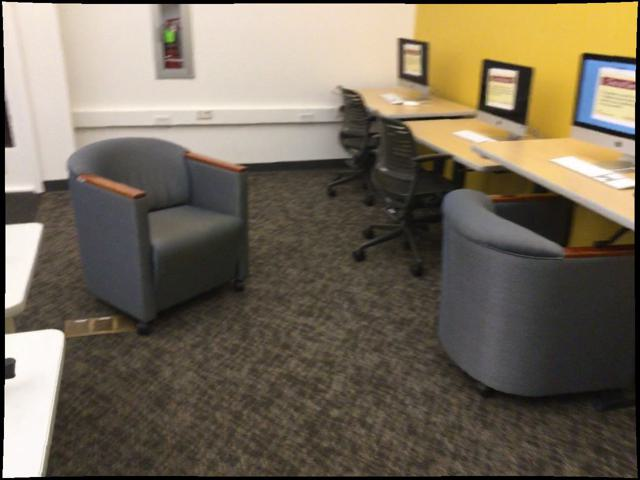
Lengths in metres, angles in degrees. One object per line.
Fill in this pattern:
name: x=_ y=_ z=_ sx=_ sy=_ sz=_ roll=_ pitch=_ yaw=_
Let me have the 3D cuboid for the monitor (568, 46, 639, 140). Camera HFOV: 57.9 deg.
monitor: x=1.329 y=-0.591 z=2.320 sx=0.300 sy=0.300 sz=0.530 roll=-6 pitch=25 yaw=-18
